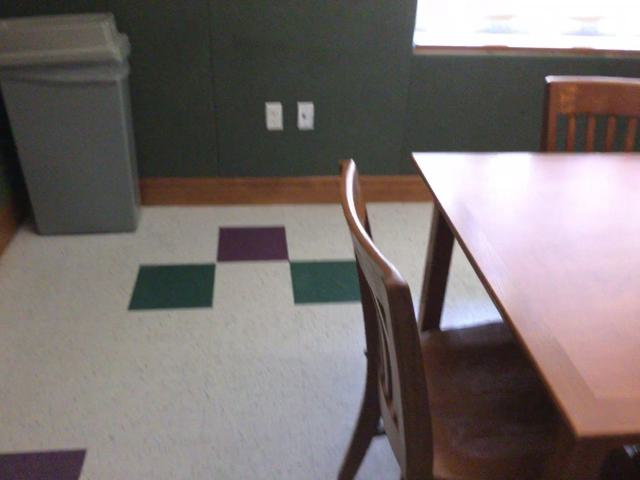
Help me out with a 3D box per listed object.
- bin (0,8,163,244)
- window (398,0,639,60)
[{"bbox_3d":[-1.020,-0.460,2.380,0.570,0.870,0.350,-3,31,-5],"label":"bin"},{"bbox_3d":[1.090,-1.280,2.430,1.440,0.940,0.190,-4,31,-7],"label":"window"}]
